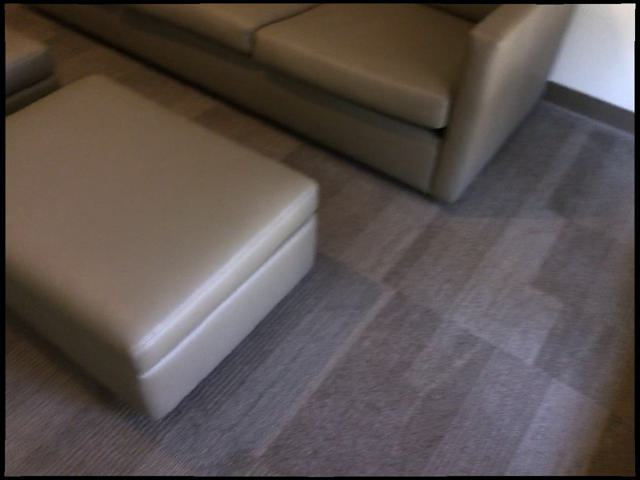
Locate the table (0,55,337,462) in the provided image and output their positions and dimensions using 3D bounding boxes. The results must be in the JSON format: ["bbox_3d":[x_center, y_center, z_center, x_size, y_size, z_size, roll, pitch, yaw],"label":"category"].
[{"bbox_3d":[-0.499,-0.020,1.480,0.819,0.390,0.690,27,51,19],"label":"table"}]

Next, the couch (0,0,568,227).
[{"bbox_3d":[-0.289,-1.072,2.260,2.268,0.711,1.000,27,51,19],"label":"couch"}]
